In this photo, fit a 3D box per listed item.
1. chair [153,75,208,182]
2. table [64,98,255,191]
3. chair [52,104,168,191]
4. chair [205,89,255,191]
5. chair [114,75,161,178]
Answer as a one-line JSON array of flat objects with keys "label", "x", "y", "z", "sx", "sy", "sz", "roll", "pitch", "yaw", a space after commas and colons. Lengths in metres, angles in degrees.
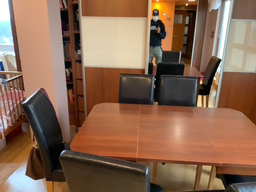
[{"label": "chair", "x": 0.500, "y": 0.320, "z": 2.250, "sx": 0.400, "sy": 0.980, "sz": 0.500, "roll": 3, "pitch": 20, "yaw": 4}, {"label": "table", "x": 0.330, "y": 0.570, "z": 1.880, "sx": 1.410, "sy": 0.750, "sz": 1.030, "roll": 2, "pitch": 19, "yaw": 2}, {"label": "chair", "x": -0.050, "y": 0.640, "z": 1.290, "sx": 0.420, "sy": 0.990, "sz": 0.590, "roll": 7, "pitch": 20, "yaw": 16}, {"label": "chair", "x": 1.050, "y": 0.520, "z": 1.680, "sx": 0.590, "sy": 1.020, "sz": 0.480, "roll": 3, "pitch": 20, "yaw": 4}, {"label": "chair", "x": 0.090, "y": 0.310, "z": 2.300, "sx": 0.420, "sy": 0.960, "sz": 0.500, "roll": 3, "pitch": 20, "yaw": 4}]
